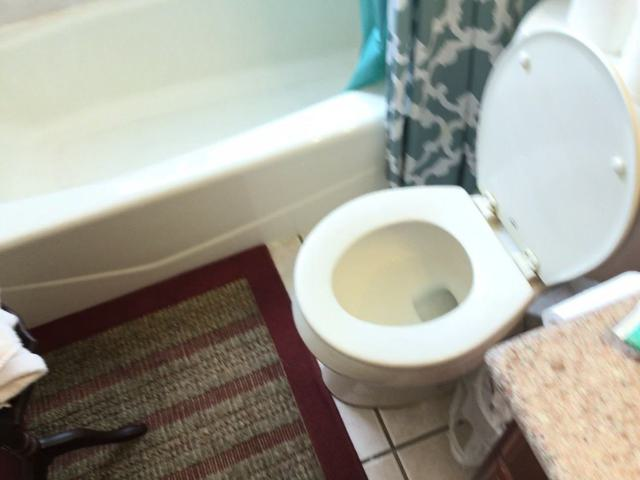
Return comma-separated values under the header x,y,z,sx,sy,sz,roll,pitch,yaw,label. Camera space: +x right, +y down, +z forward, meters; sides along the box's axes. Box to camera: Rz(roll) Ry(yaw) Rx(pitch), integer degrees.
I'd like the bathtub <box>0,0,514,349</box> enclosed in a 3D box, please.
x,y,z,sx,sy,sz,roll,pitch,yaw,label
-0.360,-0.320,1.550,1.450,0.360,0.750,-19,58,-9,bathtub
